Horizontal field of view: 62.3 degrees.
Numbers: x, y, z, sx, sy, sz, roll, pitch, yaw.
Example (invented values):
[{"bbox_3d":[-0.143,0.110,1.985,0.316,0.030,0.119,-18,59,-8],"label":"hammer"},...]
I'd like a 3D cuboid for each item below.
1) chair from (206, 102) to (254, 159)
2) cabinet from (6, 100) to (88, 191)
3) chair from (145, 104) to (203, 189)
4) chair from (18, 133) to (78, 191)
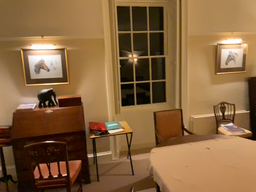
[{"bbox_3d":[1.670,0.540,3.530,0.470,0.770,0.530,-5,10,-12],"label":"chair"},{"bbox_3d":[-1.080,0.670,3.030,0.890,1.080,0.570,-5,10,-12],"label":"cabinet"},{"bbox_3d":[0.620,0.660,2.950,0.610,0.950,0.510,-5,10,-12],"label":"chair"},{"bbox_3d":[-0.880,0.910,2.470,0.450,0.770,0.550,-4,10,-6],"label":"chair"}]
